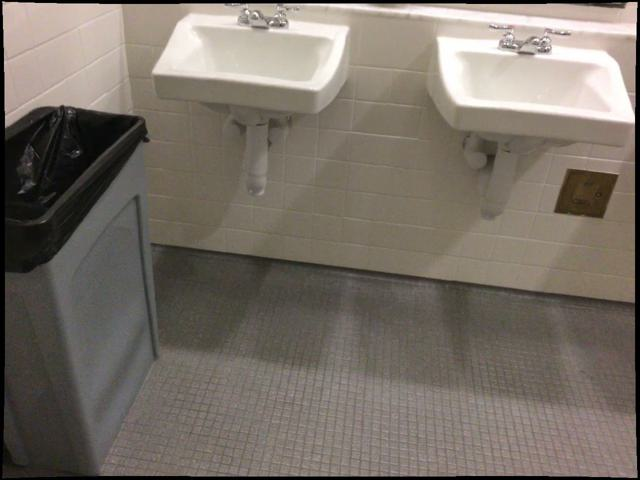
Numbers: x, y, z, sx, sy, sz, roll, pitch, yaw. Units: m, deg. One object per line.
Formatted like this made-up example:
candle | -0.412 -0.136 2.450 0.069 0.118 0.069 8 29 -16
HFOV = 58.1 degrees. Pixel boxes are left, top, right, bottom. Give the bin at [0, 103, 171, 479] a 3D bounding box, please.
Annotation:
bin | -0.628 0.160 1.430 0.299 0.801 0.580 10 31 4
